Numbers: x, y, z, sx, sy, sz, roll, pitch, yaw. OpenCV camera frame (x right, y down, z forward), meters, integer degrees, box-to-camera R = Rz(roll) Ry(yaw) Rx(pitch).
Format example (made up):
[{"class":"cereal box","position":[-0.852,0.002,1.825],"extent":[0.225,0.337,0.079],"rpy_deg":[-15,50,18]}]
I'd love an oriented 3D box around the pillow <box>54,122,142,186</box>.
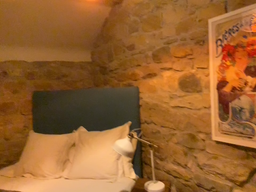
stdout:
[{"class":"pillow","position":[-0.290,0.570,2.260],"extent":[0.760,0.490,0.510],"rpy_deg":[-2,3,16]}]

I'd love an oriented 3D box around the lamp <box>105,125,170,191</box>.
[{"class":"lamp","position":[0.090,0.550,1.770],"extent":[0.500,0.530,0.170],"rpy_deg":[-4,3,-28]}]

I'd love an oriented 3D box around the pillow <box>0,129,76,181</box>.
[{"class":"pillow","position":[-1.020,0.640,2.440],"extent":[0.610,0.390,0.540],"rpy_deg":[-2,3,20]}]
